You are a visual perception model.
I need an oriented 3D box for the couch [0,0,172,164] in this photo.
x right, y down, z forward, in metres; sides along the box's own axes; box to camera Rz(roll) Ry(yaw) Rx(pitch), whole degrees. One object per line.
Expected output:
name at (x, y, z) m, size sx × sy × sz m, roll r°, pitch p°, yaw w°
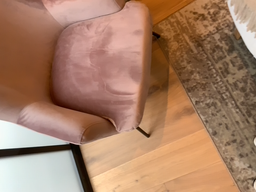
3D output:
couch at (-0.260, -0.160, 1.010) m, size 0.740 × 0.830 × 0.710 m, roll 3°, pitch 82°, yaw 22°
